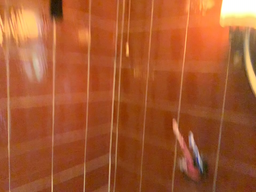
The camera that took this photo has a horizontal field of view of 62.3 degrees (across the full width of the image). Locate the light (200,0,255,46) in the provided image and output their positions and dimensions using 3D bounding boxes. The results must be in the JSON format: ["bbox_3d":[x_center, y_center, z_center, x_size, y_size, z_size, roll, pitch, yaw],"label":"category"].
[{"bbox_3d":[0.300,-0.230,0.580,0.130,0.160,0.190,9,9,36],"label":"light"}]
